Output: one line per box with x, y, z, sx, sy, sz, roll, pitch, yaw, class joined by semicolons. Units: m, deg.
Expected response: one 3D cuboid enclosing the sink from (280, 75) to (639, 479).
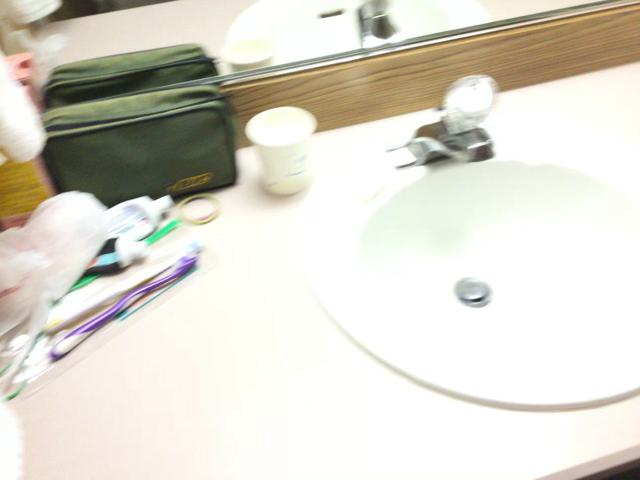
0.230;0.040;0.710;0.440;0.180;0.430;-16;50;-8;sink
